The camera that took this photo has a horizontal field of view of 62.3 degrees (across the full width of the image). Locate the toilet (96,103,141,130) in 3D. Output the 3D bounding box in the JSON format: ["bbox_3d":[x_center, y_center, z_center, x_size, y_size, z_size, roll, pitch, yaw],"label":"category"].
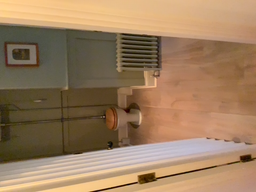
[{"bbox_3d":[-0.190,0.320,3.600,0.750,0.520,0.360,175,91,-67],"label":"toilet"}]
